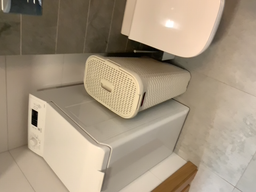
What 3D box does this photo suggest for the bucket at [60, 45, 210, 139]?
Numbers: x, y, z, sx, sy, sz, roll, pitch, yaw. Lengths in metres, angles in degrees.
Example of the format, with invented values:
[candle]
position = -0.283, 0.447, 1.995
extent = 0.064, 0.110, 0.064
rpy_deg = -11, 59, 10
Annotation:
[bucket]
position = 0.060, -0.110, 1.390
extent = 0.640, 0.720, 0.220
rpy_deg = 35, 122, 32
